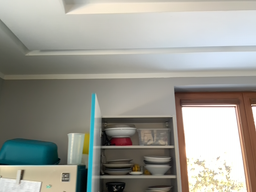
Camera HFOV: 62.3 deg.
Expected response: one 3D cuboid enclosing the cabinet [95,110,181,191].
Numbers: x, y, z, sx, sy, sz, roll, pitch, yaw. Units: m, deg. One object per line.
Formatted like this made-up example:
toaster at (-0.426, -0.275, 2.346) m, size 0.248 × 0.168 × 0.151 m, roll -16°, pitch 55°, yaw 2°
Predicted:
cabinet at (0.070, 0.610, 1.680) m, size 0.610 × 0.950 × 0.300 m, roll -1°, pitch -16°, yaw 1°
